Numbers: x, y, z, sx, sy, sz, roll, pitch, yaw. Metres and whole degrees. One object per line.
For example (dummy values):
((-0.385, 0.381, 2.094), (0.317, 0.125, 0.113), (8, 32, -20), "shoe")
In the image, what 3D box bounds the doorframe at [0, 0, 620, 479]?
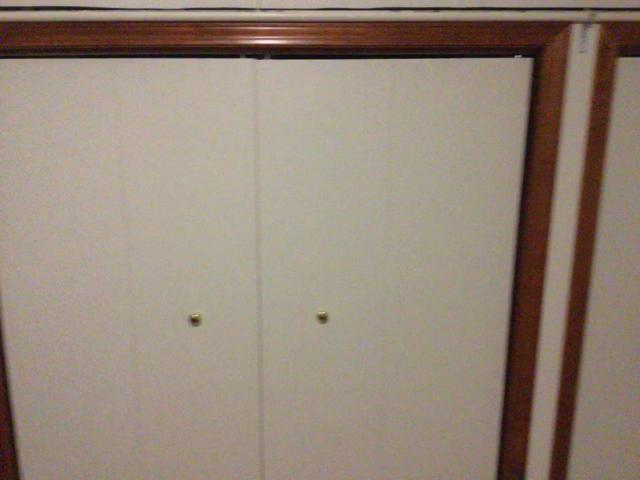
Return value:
((-0.130, 0.160, 1.640), (1.610, 1.730, 0.190), (3, 13, 0), "doorframe")
